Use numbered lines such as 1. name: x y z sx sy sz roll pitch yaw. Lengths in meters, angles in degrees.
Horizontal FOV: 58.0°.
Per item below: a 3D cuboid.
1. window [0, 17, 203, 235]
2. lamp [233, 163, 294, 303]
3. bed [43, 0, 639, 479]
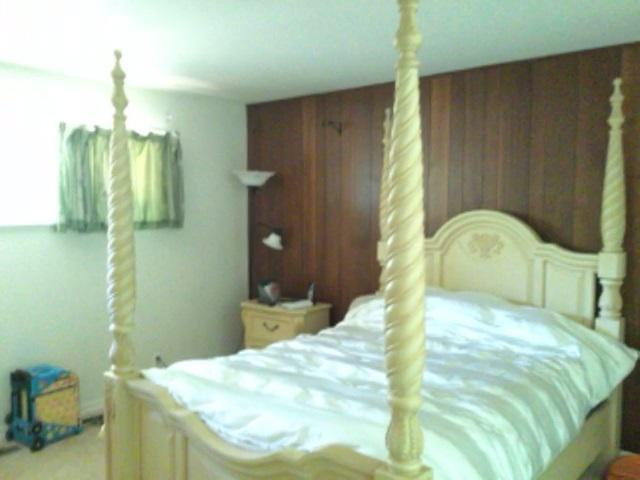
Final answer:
1. window: -1.940 -0.680 3.530 0.220 1.280 2.820 2 6 40
2. lamp: -0.490 -0.070 5.020 0.410 1.160 0.270 2 6 40
3. bed: 0.320 0.170 2.910 2.050 2.260 2.330 2 6 40
